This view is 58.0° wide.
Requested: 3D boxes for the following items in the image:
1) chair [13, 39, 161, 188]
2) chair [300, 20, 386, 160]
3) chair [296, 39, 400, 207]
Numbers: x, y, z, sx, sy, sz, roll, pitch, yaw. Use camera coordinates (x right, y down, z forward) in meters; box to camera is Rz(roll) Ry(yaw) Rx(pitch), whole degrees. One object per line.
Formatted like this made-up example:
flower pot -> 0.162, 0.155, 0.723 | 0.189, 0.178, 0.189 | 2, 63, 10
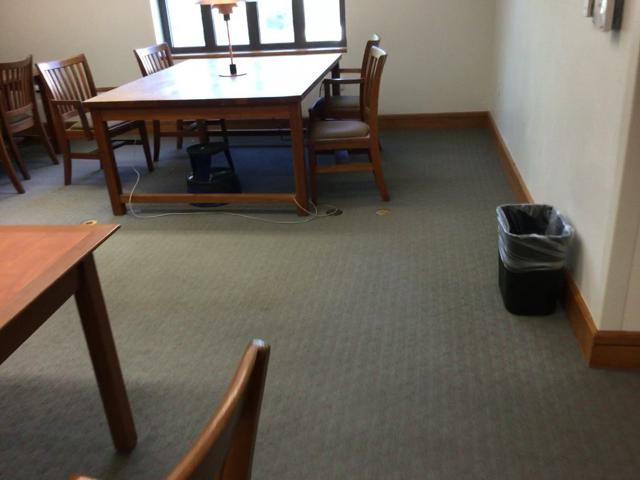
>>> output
chair -> -1.680, -0.970, 4.300 | 0.600, 0.990, 0.710 | 5, 20, 14
chair -> 0.190, -1.140, 4.370 | 0.570, 0.950, 0.580 | 2, 19, 8
chair -> 0.160, -0.770, 3.720 | 0.590, 0.990, 0.570 | 0, 19, 0
